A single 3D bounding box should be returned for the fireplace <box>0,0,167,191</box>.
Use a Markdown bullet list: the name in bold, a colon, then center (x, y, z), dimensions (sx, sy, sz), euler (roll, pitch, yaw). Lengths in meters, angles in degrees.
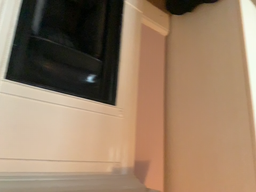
- **fireplace**: center (-0.270, -0.170, 0.960), dimensions (1.000, 1.160, 0.340), euler (16, 160, -41)
